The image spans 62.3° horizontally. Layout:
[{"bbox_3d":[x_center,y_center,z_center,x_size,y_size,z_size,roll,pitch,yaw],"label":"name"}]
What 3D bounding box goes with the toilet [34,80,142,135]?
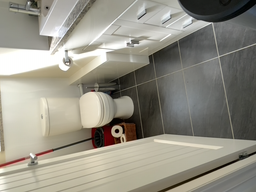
[{"bbox_3d":[-0.420,0.120,2.100,0.710,0.790,0.380,-20,76,54],"label":"toilet"}]
